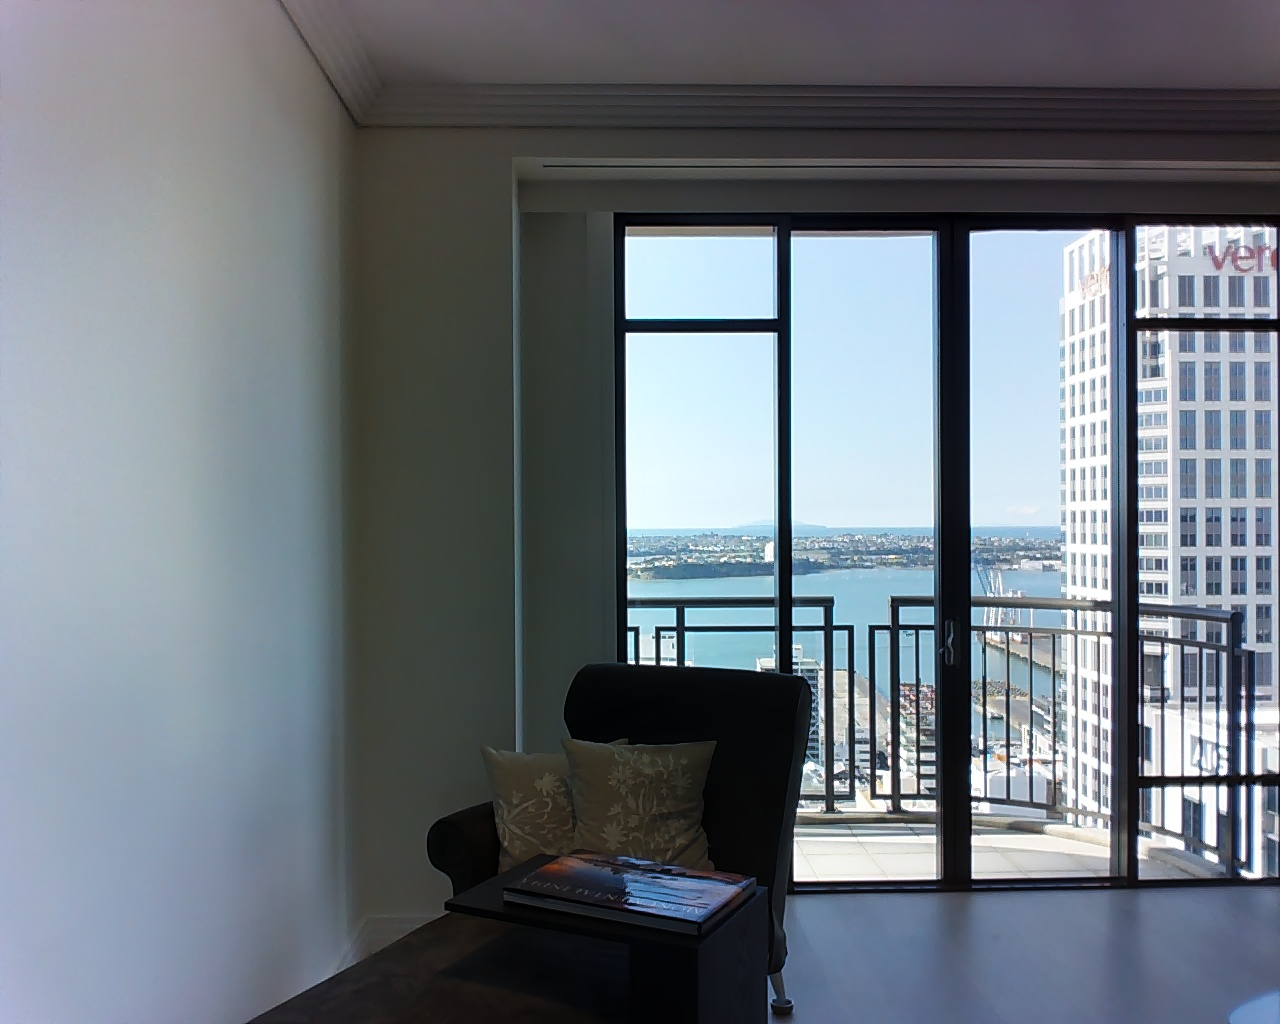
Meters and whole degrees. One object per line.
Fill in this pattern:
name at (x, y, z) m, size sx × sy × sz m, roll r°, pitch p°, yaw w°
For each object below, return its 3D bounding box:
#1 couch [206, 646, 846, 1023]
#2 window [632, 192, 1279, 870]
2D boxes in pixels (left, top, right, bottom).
couch at (-0.110, 0.920, 2.760) m, size 0.840 × 0.890 × 1.750 m, roll 0°, pitch 1°, yaw 25°
window at (1.380, 0.070, 4.160) m, size 2.809 × 2.561 × 0.120 m, roll 0°, pitch 1°, yaw -2°
